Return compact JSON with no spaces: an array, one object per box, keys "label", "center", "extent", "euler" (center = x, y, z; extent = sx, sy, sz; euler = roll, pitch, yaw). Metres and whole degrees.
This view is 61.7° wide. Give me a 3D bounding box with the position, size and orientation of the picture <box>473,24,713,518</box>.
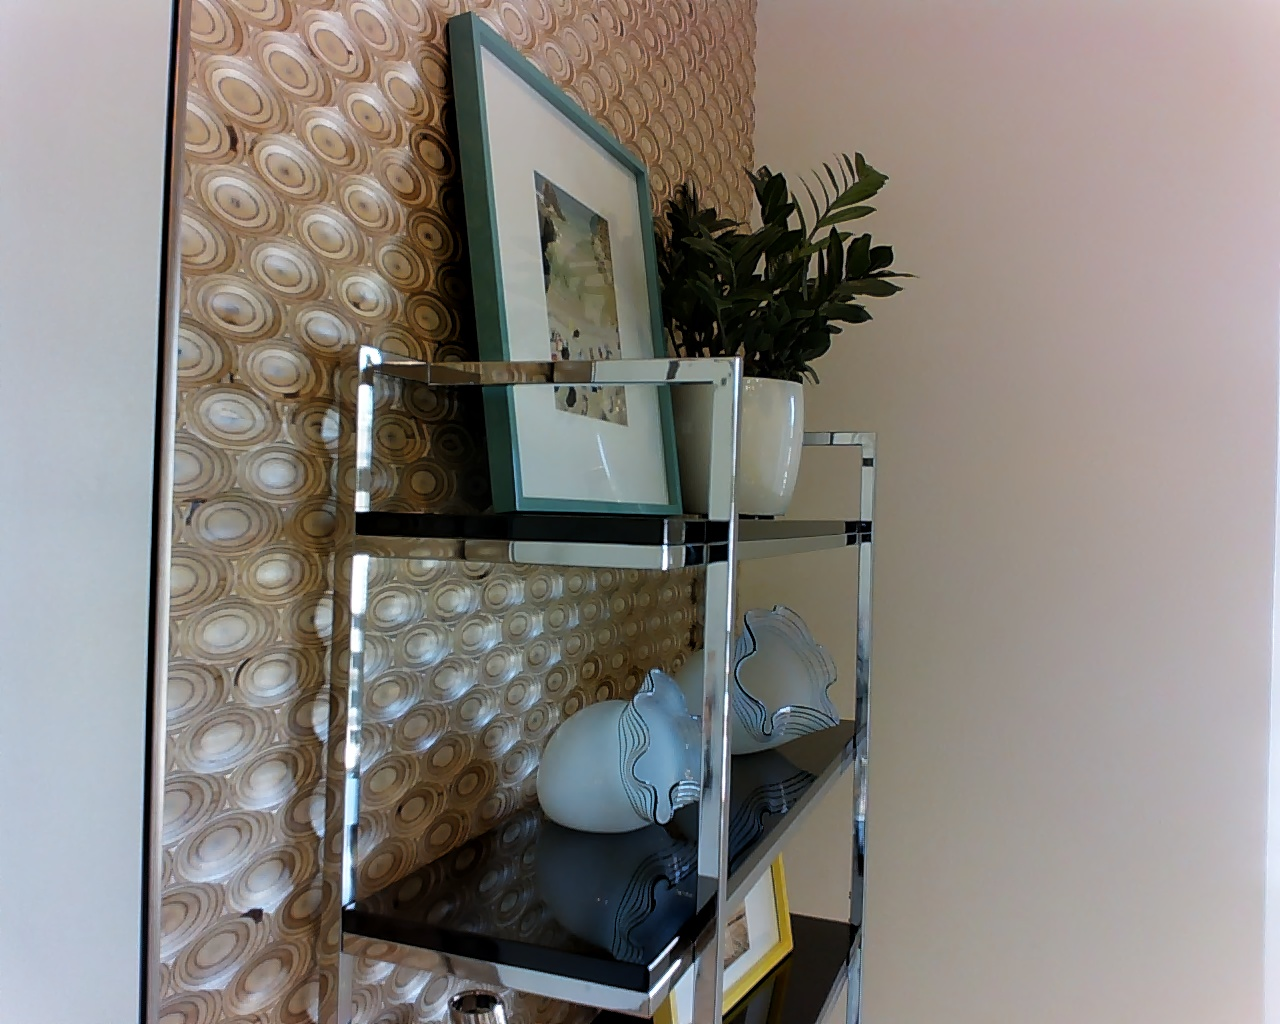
[{"label":"picture","center":[-0.030,-0.220,1.210],"extent":[0.080,0.450,0.470],"euler":[1,0,22]}]
